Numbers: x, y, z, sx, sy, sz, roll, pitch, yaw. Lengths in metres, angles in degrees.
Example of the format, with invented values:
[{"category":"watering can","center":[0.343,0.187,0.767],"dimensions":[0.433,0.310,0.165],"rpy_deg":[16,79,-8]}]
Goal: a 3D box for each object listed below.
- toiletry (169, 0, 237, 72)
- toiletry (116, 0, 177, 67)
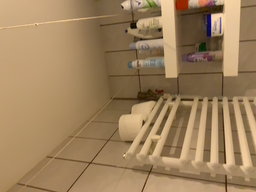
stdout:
[{"category":"toiletry","center":[0.310,-0.400,0.880],"dimensions":[0.220,0.240,0.550],"rpy_deg":[-44,-50,-60]},{"category":"toiletry","center":[0.090,-0.410,0.990],"dimensions":[0.220,0.210,0.500],"rpy_deg":[-43,-51,-61]}]
